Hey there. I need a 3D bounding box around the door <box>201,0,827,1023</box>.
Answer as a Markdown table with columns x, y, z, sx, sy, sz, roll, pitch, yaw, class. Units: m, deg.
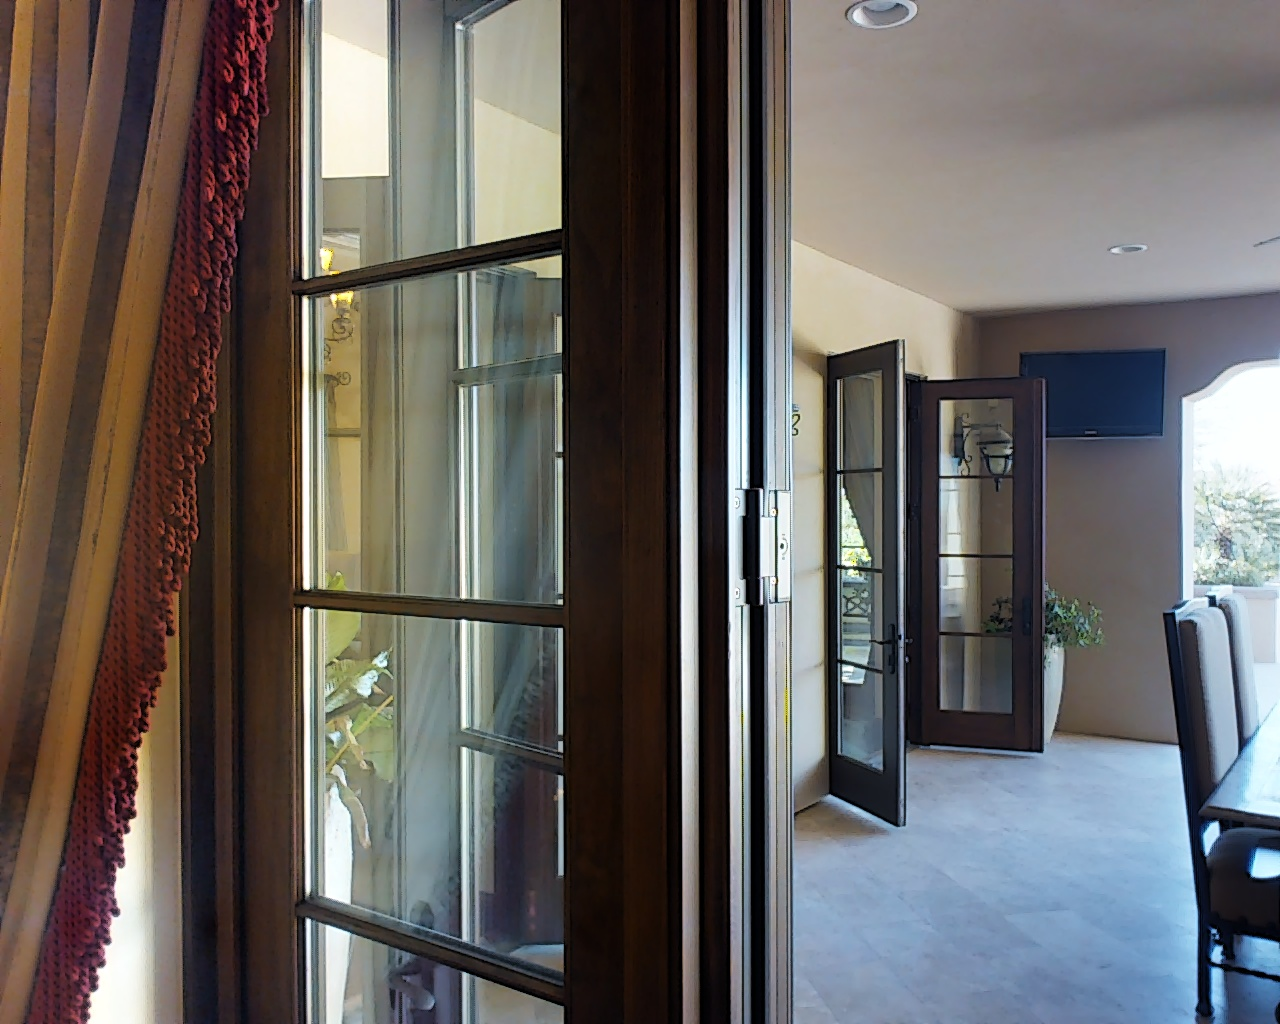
| x | y | z | sx | sy | sz | roll | pitch | yaw | class |
| --- | --- | --- | --- | --- | --- | --- | --- | --- | --- |
| -0.170 | 0.260 | 1.350 | 0.720 | 2.230 | 0.350 | 0 | 0 | 31 | door |
